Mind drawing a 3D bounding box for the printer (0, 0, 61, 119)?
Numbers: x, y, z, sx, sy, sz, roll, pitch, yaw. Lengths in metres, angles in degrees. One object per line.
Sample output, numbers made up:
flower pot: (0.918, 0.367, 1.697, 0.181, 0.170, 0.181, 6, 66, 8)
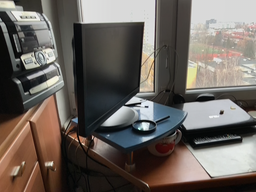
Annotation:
printer: (-0.480, -0.160, 0.750, 0.390, 0.410, 0.270, -4, 20, -8)

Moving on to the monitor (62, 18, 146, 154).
monitor: (-0.040, -0.100, 0.880, 0.050, 0.380, 0.590, 8, 26, 20)
